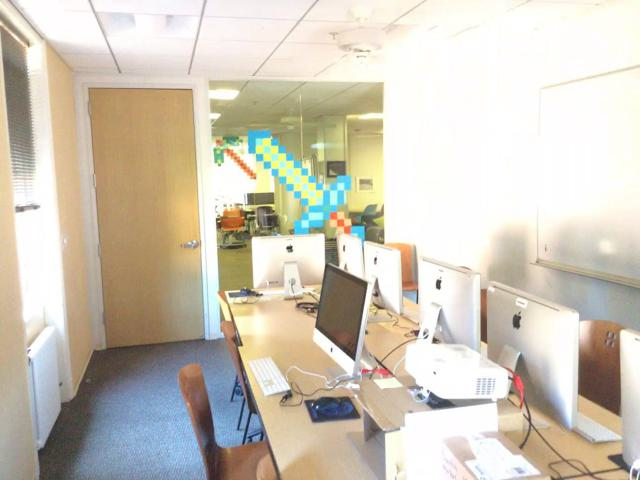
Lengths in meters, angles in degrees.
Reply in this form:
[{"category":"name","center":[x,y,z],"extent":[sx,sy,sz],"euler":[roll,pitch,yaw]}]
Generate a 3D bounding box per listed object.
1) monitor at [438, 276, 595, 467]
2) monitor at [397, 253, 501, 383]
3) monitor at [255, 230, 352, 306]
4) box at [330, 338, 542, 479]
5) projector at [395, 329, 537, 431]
[{"category":"monitor","center":[0.630,0.400,1.940],"extent":[0.250,0.440,0.530],"euler":[-5,9,-12]},{"category":"monitor","center":[0.540,0.310,2.500],"extent":[0.230,0.410,0.520],"euler":[-5,9,-12]},{"category":"monitor","center":[-0.110,0.180,3.870],"extent":[0.600,0.430,0.180],"euler":[-5,9,-12]},{"category":"box","center":[0.330,0.530,1.770],"extent":[0.490,0.280,0.440],"euler":[-5,9,-12]},{"category":"projector","center":[0.440,0.420,1.790],"extent":[0.320,0.170,0.300],"euler":[-5,9,-12]}]
